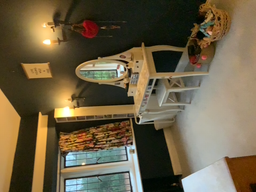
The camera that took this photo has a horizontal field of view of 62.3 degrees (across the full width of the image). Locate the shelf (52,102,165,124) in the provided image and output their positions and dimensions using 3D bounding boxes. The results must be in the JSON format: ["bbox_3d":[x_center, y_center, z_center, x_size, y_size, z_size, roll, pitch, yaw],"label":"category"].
[{"bbox_3d":[-0.320,0.310,3.870,0.270,1.980,0.180,103,162,-58],"label":"shelf"}]
